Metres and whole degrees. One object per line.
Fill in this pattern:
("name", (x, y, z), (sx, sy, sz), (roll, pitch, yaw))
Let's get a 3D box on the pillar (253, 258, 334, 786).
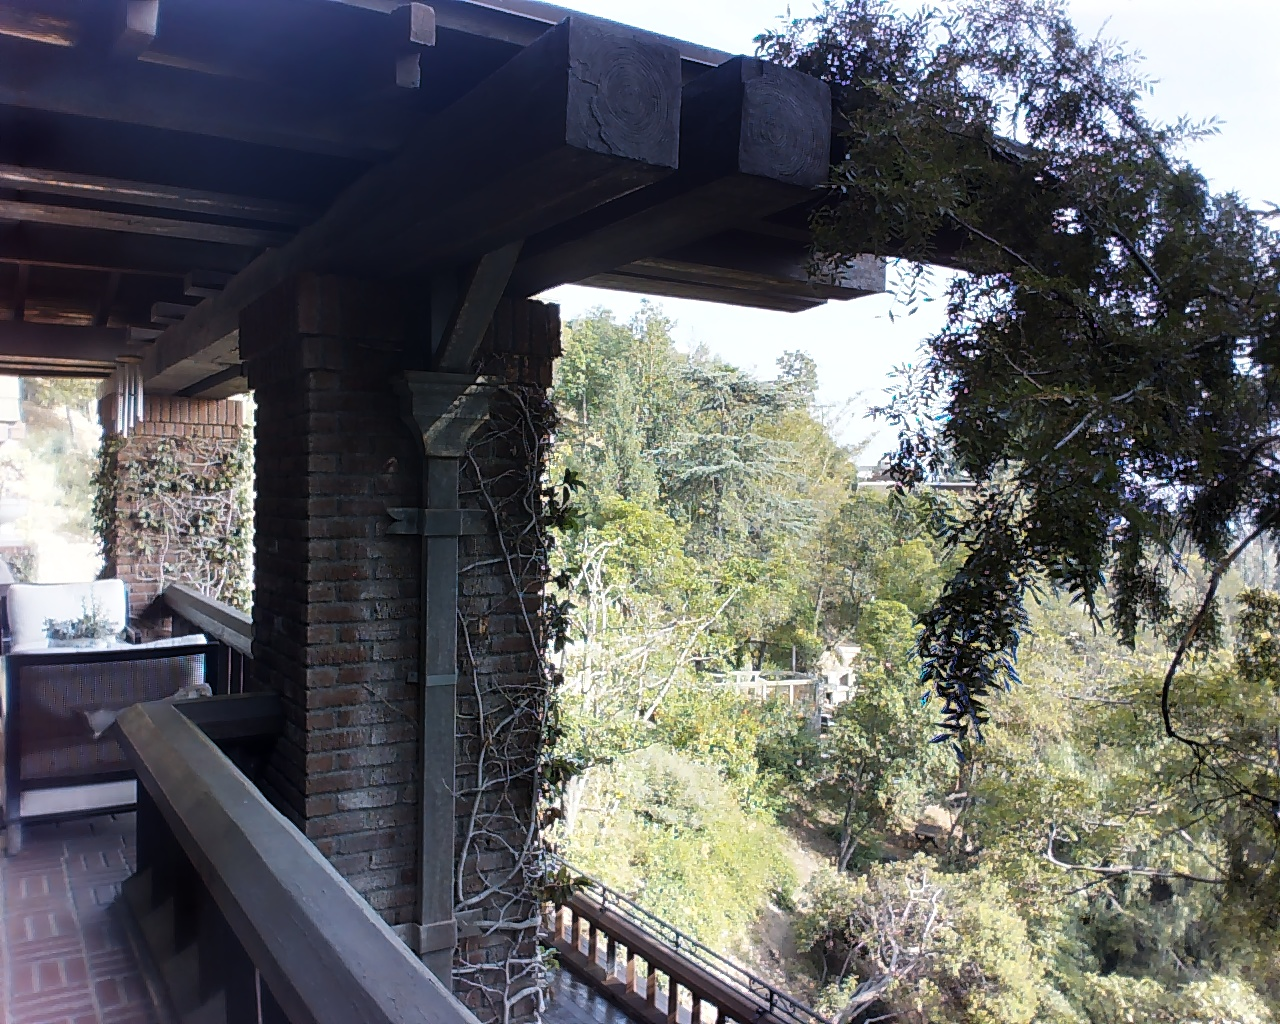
("pillar", (-1.310, 0.030, 4.040), (0.100, 1.810, 0.760), (0, 1, -31))
